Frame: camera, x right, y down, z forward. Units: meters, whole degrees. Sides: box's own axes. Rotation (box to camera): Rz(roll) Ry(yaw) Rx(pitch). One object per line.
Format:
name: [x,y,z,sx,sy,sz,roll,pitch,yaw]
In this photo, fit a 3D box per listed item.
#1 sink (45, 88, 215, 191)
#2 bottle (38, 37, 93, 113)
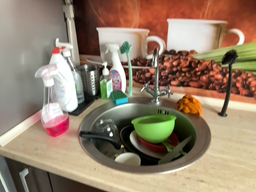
sink: [0.060,0.200,0.890,0.520,0.210,0.520,10,28,20]
bottle: [-0.270,-0.100,0.950,0.130,0.290,0.150,13,30,26]
